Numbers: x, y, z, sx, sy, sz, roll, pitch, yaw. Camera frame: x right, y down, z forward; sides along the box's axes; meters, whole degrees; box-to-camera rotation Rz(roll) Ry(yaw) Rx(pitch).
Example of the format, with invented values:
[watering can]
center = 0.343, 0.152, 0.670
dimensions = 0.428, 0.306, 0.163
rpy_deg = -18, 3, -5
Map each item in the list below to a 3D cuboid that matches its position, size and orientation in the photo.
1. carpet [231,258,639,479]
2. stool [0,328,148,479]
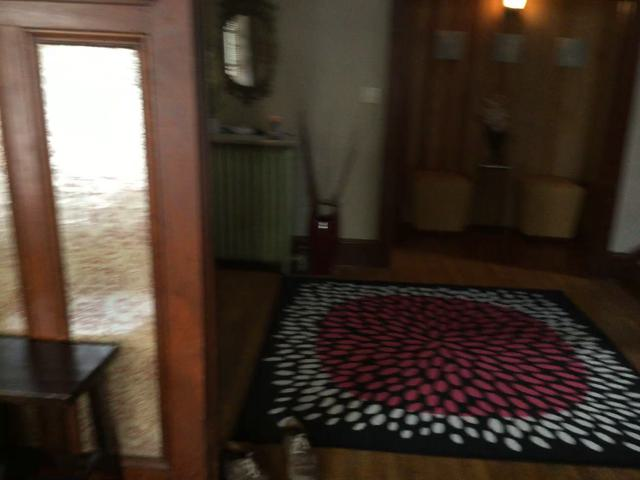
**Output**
[carpet]
center = 0.800, 0.540, 3.310
dimensions = 2.070, 0.160, 2.170
rpy_deg = 1, 16, 7
[stool]
center = -0.890, 0.650, 1.780
dimensions = 0.560, 0.650, 0.360
rpy_deg = 0, 16, 4
